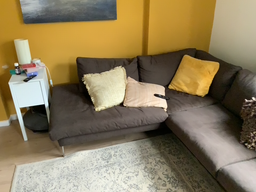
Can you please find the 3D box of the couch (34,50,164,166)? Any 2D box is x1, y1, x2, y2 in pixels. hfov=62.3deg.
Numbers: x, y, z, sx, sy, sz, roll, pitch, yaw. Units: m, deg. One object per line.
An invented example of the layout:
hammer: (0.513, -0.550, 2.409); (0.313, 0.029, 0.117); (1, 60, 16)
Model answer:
couch: (-0.330, 0.020, 2.270); (1.050, 0.740, 0.960); (-8, 27, -15)

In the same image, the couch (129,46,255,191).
couch: (0.950, 0.270, 1.820); (1.110, 0.710, 2.710); (-8, 27, -15)

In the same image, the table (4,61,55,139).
table: (-1.050, 0.020, 2.360); (0.350, 0.660, 0.530); (-8, 27, -15)
